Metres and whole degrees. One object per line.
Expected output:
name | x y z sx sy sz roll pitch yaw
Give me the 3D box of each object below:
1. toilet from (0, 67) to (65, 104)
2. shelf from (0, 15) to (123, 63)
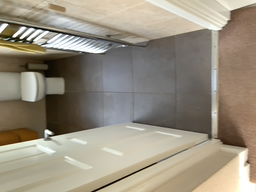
toilet | -1.330 -0.140 2.700 0.680 0.770 0.390 4 95 43
shelf | -0.610 -0.390 1.600 0.450 1.190 0.150 1 93 42
